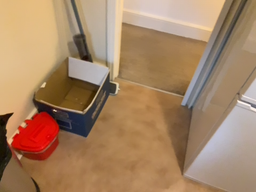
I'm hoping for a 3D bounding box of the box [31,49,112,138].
[{"bbox_3d":[-0.370,-0.040,1.560,0.340,0.260,0.570,14,50,6],"label":"box"}]
